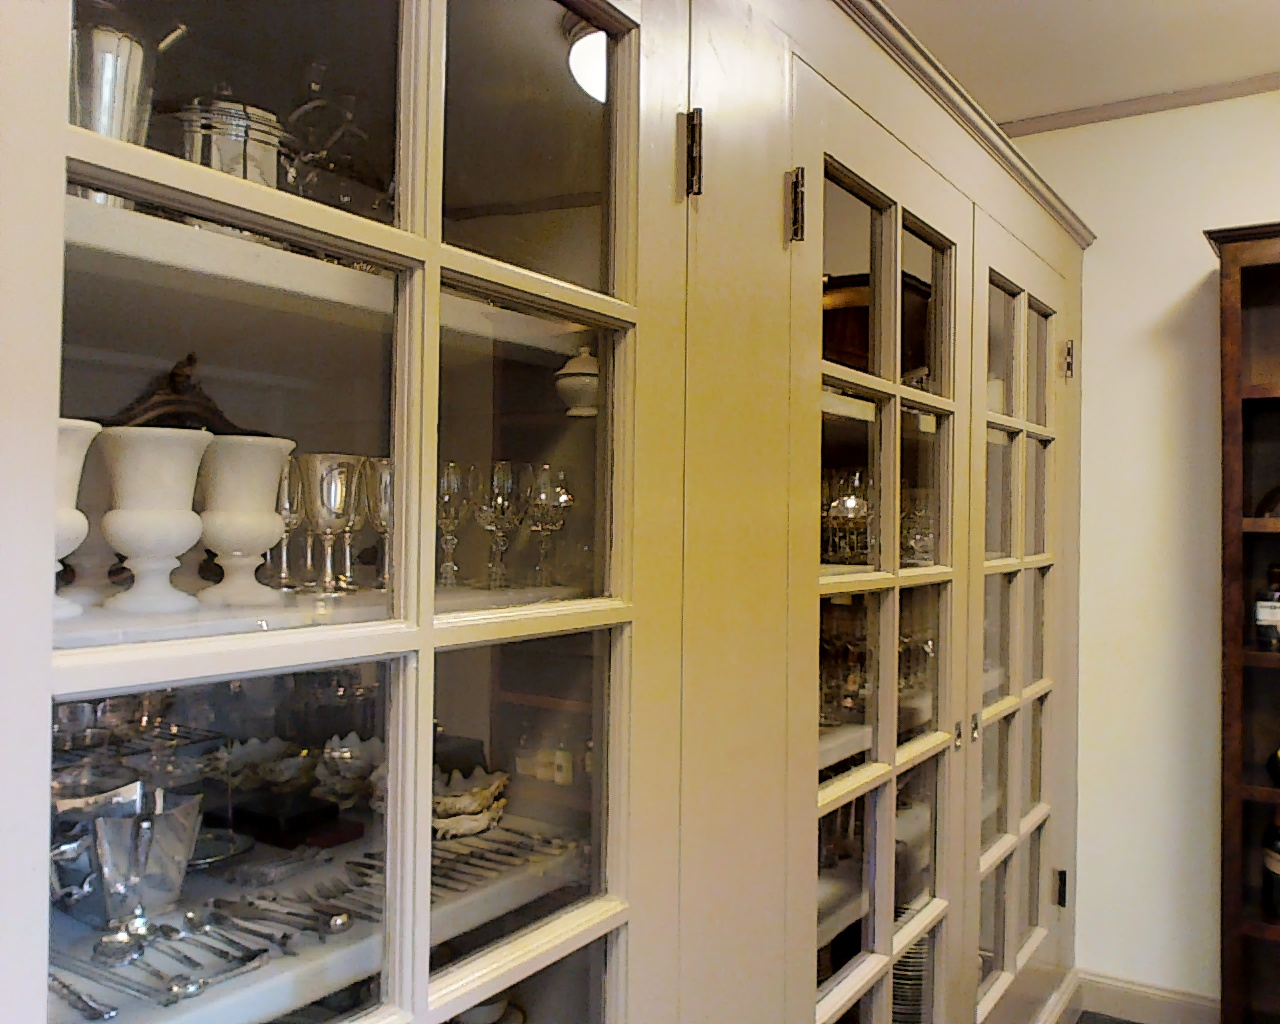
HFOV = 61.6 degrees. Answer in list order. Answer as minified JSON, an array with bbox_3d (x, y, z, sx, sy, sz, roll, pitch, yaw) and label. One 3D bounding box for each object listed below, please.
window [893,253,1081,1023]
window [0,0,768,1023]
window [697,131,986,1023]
[{"bbox_3d":[0.930,0.310,2.810,0.260,1.790,0.740,0,0,34],"label":"window"},{"bbox_3d":[-0.240,0.440,1.130,0.280,2.180,1.040,0,0,34],"label":"window"},{"bbox_3d":[0.430,0.290,2.100,0.240,1.780,0.820,0,0,34],"label":"window"}]
